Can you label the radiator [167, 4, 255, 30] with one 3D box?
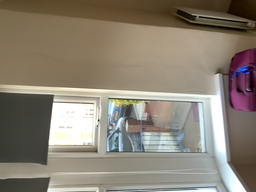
[{"bbox_3d":[0.910,-0.910,2.400,0.700,0.740,0.120,-107,22,-62],"label":"radiator"}]
